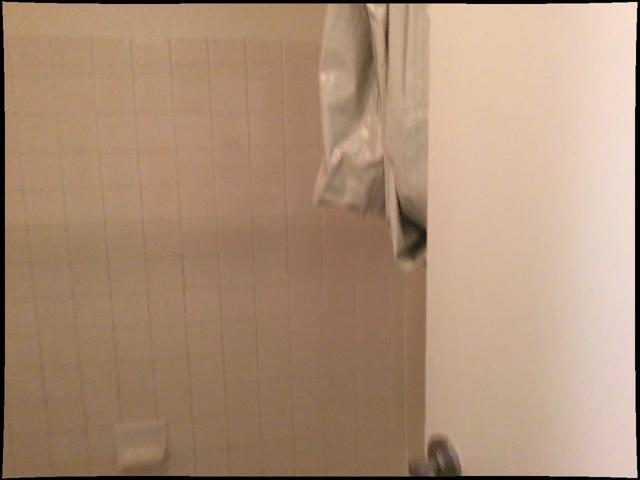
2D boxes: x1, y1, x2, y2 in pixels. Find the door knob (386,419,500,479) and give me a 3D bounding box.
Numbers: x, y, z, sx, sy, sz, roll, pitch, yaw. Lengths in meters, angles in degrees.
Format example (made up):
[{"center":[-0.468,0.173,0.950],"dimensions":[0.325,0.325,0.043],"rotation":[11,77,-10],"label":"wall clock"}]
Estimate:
[{"center":[0.199,0.391,0.970],"dimensions":[0.090,0.080,0.190],"rotation":[-7,13,-24],"label":"door knob"}]
